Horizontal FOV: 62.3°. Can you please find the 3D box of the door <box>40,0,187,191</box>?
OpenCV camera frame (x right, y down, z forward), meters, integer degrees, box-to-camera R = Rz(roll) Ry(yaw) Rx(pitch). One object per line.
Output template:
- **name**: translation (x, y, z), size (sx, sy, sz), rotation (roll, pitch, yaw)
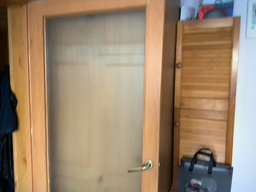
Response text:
- **door**: translation (-0.150, 0.320, 1.280), size (0.880, 1.910, 0.060), rotation (4, 7, 23)
